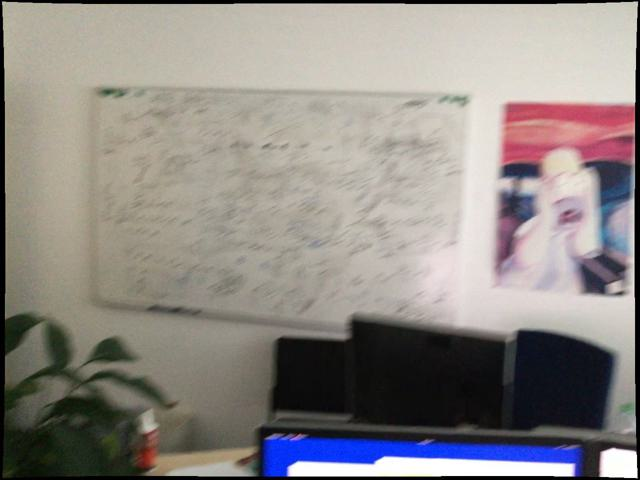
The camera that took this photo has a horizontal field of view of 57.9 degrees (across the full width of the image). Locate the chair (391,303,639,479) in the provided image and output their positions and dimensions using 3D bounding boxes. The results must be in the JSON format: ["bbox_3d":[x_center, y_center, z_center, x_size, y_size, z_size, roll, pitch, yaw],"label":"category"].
[{"bbox_3d":[0.819,0.871,2.320,0.750,1.011,0.770,8,9,41],"label":"chair"}]

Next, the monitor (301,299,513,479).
[{"bbox_3d":[0.190,0.450,1.330,0.440,0.571,0.130,4,7,16],"label":"monitor"}]
